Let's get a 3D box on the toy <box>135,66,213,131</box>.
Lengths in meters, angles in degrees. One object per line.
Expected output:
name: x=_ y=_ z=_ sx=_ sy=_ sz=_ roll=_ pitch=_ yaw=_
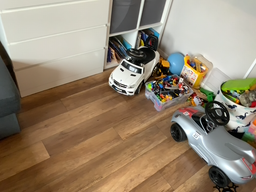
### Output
toy: x=0.410 y=0.000 z=1.980 sx=0.500 sy=0.280 sz=0.420 roll=-17 pitch=51 yaw=-27

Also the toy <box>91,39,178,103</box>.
toy: x=0.050 y=-0.280 z=2.140 sx=0.710 sy=0.310 sz=0.440 roll=-17 pitch=51 yaw=-27

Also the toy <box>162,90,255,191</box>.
toy: x=0.650 y=0.330 z=1.640 sx=0.390 sy=0.310 sz=0.660 roll=-18 pitch=52 yaw=-28

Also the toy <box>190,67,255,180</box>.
toy: x=0.970 y=0.200 z=1.720 sx=0.400 sy=0.460 sz=0.700 roll=-22 pitch=54 yaw=-31
